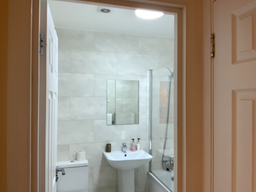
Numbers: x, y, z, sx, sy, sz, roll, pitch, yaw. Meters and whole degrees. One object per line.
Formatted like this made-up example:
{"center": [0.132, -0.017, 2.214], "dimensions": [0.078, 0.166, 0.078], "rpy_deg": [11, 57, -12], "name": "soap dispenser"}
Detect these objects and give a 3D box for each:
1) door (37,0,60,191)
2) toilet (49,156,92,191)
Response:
{"center": [-0.460, 0.500, 1.270], "dimensions": [0.030, 2.050, 0.760], "rpy_deg": [0, -1, -14], "name": "door"}
{"center": [-0.640, 1.170, 2.380], "dimensions": [0.410, 0.790, 0.610], "rpy_deg": [0, -1, -15], "name": "toilet"}
